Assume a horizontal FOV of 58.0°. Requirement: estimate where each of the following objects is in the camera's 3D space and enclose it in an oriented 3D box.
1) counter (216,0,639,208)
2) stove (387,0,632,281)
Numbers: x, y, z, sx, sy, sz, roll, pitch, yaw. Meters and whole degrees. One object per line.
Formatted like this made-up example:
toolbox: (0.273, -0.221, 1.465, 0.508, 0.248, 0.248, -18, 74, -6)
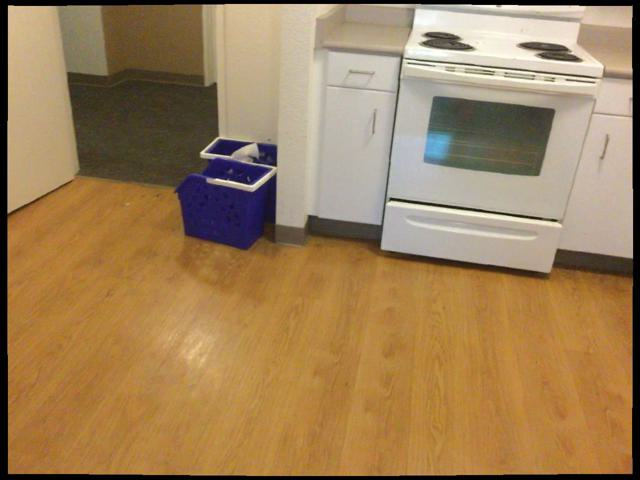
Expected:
counter: (0.988, -0.571, 1.980, 2.156, 0.210, 1.841, 6, 28, 8)
stove: (0.759, -0.561, 2.610, 0.739, 1.172, 0.780, 7, 28, 9)
